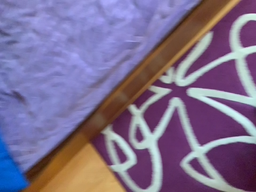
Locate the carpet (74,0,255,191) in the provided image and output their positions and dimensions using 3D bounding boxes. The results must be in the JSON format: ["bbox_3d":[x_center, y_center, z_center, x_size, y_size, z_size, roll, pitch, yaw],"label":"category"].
[{"bbox_3d":[0.460,0.070,1.000,0.800,0.050,1.480,45,102,13],"label":"carpet"}]
